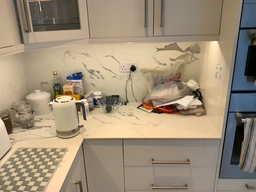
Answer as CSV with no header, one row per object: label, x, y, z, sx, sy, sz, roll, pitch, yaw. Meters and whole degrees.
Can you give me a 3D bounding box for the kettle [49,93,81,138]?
kettle,-0.390,0.120,1.340,0.130,0.250,0.140,0,20,4
